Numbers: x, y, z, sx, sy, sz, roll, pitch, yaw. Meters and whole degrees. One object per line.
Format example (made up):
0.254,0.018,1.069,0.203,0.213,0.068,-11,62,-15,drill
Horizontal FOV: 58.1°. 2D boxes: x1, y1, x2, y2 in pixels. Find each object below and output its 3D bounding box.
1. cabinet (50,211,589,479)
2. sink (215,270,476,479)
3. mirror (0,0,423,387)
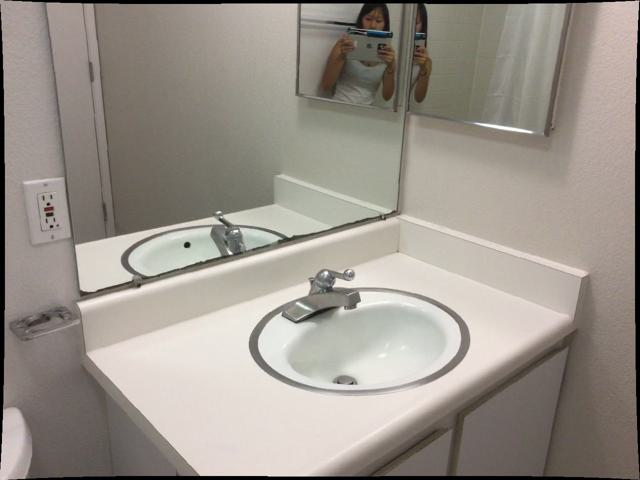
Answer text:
0.040,0.511,1.340,0.969,0.871,0.580,-17,27,-39,cabinet
0.060,0.260,1.280,0.460,0.180,0.340,-17,27,-39,sink
-0.160,-0.280,1.260,1.029,0.901,0.100,-17,27,-39,mirror
